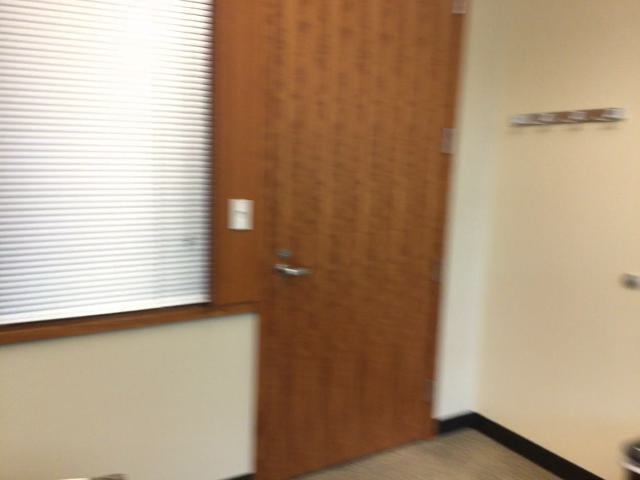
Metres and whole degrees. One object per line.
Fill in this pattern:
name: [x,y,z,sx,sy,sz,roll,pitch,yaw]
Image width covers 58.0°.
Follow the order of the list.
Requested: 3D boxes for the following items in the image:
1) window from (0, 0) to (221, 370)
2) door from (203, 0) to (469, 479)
window: [-0.970,-0.450,1.790,1.310,1.680,0.210,-3,8,-30]
door: [0.100,-0.130,2.400,1.140,2.370,0.190,-3,8,-32]
